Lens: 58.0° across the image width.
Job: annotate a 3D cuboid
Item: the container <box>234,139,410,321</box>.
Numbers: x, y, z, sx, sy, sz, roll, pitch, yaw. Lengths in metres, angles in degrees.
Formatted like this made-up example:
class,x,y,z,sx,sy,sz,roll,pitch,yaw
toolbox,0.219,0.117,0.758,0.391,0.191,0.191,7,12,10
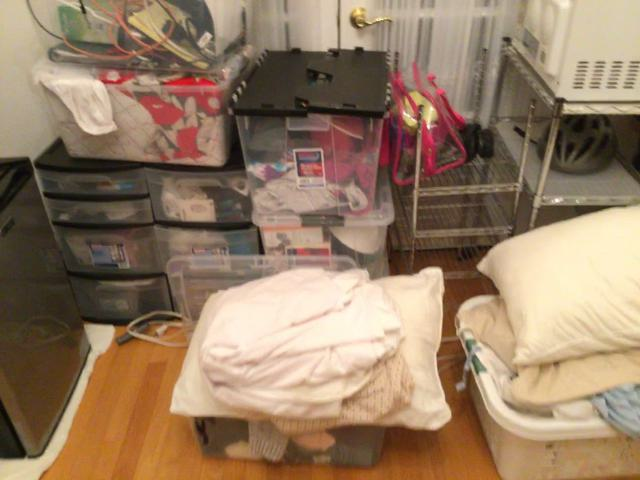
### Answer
class,x,y,z,sx,sy,sz,roll,pitch,yaw
container,0.000,-0.060,1.840,0.460,0.340,0.570,-2,29,-1

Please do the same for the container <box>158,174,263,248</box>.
class,x,y,z,sx,sy,sz,roll,pitch,yaw
container,-0.330,-0.090,1.790,0.290,0.190,0.110,-2,29,-1

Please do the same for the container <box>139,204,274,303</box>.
class,x,y,z,sx,sy,sz,roll,pitch,yaw
container,-0.350,0.040,1.870,0.380,0.230,0.220,-2,29,-1

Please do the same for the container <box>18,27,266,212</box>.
class,x,y,z,sx,sy,sz,roll,pitch,yaw
container,-0.470,-0.370,1.720,0.570,0.430,0.390,-2,29,-1

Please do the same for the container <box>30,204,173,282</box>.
class,x,y,z,sx,sy,sz,roll,pitch,yaw
container,-0.680,0.010,1.830,0.380,0.220,0.090,-2,29,-1

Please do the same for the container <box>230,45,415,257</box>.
class,x,y,z,sx,sy,sz,roll,pitch,yaw
container,0.000,-0.290,1.680,0.420,0.420,0.600,-2,29,-1

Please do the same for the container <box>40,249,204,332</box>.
class,x,y,z,sx,sy,sz,roll,pitch,yaw
container,-0.650,0.170,1.950,0.470,0.220,0.150,-2,29,-1

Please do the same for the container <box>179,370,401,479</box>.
class,x,y,z,sx,sy,sz,roll,pitch,yaw
container,-0.070,0.480,1.480,0.520,0.220,0.160,-2,29,-1

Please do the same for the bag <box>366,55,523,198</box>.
class,x,y,z,sx,sy,sz,roll,pitch,yaw
bag,0.330,-0.350,1.700,0.340,0.280,0.450,-2,29,-1

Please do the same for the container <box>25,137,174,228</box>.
class,x,y,z,sx,sy,sz,roll,pitch,yaw
container,-0.660,-0.180,1.780,0.350,0.200,0.220,-2,29,-1

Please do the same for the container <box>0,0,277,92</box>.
class,x,y,z,sx,sy,sz,roll,pitch,yaw
container,-0.450,-0.640,1.590,0.630,0.320,0.520,-2,29,-1
